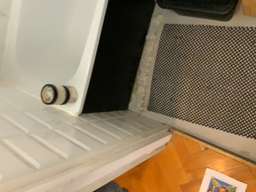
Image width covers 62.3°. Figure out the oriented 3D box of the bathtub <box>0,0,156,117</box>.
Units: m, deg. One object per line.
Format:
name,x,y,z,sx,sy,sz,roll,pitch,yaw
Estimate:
bathtub,-0.250,-0.660,1.320,0.680,0.540,1.390,19,99,27
